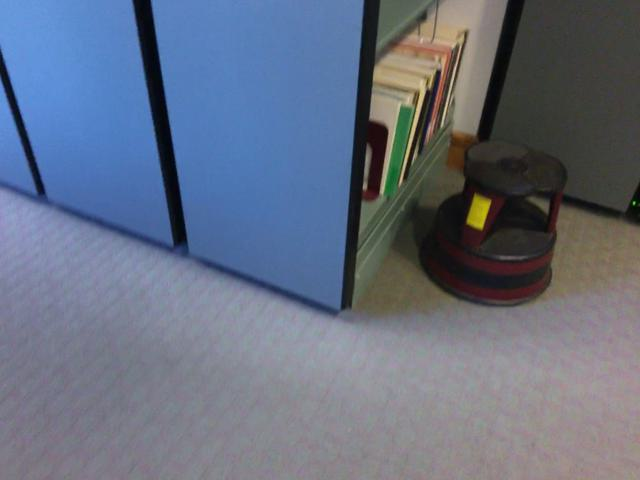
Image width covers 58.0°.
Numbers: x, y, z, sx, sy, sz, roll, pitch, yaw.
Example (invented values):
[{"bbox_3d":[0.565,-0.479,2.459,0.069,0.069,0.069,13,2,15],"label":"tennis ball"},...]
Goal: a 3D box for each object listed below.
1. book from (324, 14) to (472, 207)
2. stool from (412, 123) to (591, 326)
[{"bbox_3d":[0.260,-0.440,1.830,0.230,0.340,0.670,16,40,20],"label":"book"},{"bbox_3d":[0.530,-0.060,1.710,0.380,0.390,0.360,16,40,20],"label":"stool"}]
